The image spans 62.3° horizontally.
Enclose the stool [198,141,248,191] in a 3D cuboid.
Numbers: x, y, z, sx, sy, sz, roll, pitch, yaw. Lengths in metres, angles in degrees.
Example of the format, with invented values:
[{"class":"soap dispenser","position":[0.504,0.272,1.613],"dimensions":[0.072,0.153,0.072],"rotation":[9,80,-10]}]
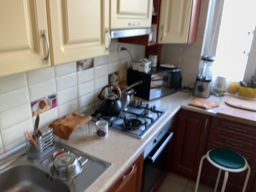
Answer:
[{"class":"stool","position":[0.790,0.750,1.820],"dimensions":[0.300,0.580,0.280],"rotation":[14,23,27]}]

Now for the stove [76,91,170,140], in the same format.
[{"class":"stove","position":[-0.020,0.120,1.760],"dimensions":[0.560,0.060,0.580],"rotation":[14,23,27]}]
